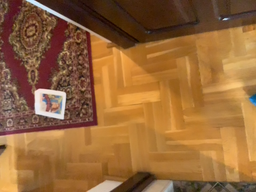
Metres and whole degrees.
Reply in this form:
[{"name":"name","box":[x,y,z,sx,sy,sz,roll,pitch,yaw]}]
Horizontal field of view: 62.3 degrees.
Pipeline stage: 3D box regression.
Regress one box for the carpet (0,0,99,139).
[{"name":"carpet","box":[-0.840,-0.390,1.790,1.200,0.040,1.430,-10,84,24]}]
